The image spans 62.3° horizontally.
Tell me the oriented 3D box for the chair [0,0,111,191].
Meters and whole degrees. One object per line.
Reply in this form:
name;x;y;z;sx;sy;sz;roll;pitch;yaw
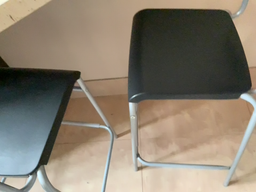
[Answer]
chair;-0.340;0.160;0.700;0.360;0.880;0.390;4;58;9

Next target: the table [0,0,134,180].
table;-0.320;-0.050;0.820;0.600;0.900;0.510;-4;57;4
